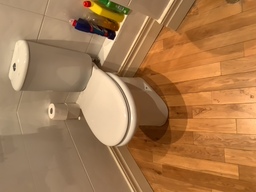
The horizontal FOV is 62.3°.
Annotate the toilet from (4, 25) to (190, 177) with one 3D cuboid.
[{"bbox_3d":[-0.190,0.000,1.330,0.680,0.880,0.390,53,125,35],"label":"toilet"}]
